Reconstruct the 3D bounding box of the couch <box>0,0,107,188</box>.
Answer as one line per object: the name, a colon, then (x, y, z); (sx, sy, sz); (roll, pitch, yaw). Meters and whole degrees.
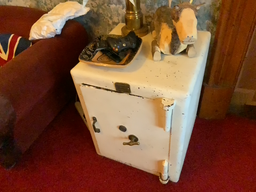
couch: (-1.080, -0.170, 1.670); (1.410, 0.790, 1.050); (11, 44, 18)
